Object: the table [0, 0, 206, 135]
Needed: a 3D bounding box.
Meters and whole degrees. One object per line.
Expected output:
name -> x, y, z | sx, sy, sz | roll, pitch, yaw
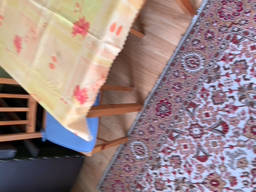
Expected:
table -> -0.340, -0.500, 1.310 | 1.200, 0.740, 0.790 | 37, 108, 25
